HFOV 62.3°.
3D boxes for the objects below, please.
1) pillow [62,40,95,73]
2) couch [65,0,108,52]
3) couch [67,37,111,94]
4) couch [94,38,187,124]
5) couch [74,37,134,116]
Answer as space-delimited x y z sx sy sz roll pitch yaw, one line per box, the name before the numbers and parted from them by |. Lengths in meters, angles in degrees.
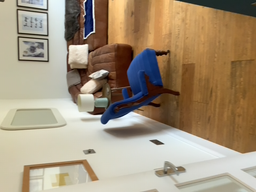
pillow | -1.180 -0.950 5.070 0.550 0.530 0.190 53 164 -9
couch | -1.020 -1.980 5.010 1.160 0.740 1.730 -165 75 -65
couch | -0.960 -0.680 4.980 1.130 0.710 0.690 115 145 -44
couch | 0.110 -0.150 2.570 0.580 0.840 0.820 143 122 -61
couch | -0.530 -0.370 4.040 1.360 0.740 1.210 -165 76 -65
